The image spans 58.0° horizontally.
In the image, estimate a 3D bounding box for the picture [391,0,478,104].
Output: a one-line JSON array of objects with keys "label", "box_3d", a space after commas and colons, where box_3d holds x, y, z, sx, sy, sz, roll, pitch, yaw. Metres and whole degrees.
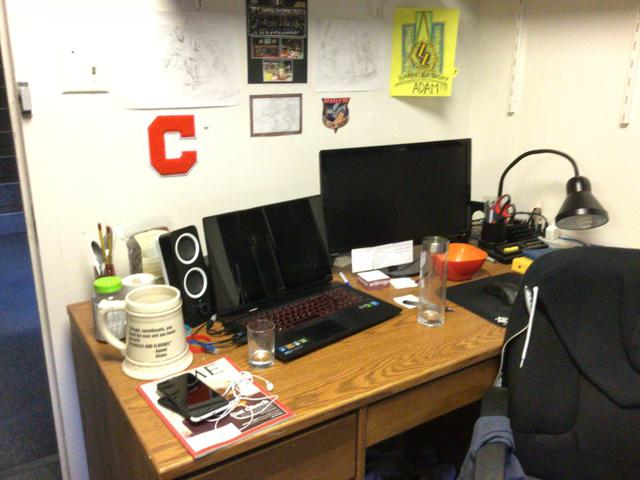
[{"label": "picture", "box_3d": [0.390, -0.640, 1.980, 0.280, 0.320, 0.100, -11, 21, -32]}]

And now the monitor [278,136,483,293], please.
[{"label": "monitor", "box_3d": [0.190, -0.100, 1.730, 0.620, 0.360, 0.170, -11, 21, -32]}]

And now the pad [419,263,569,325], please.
[{"label": "pad", "box_3d": [0.480, 0.140, 1.600, 0.320, 0.020, 0.250, -11, 21, -32]}]
